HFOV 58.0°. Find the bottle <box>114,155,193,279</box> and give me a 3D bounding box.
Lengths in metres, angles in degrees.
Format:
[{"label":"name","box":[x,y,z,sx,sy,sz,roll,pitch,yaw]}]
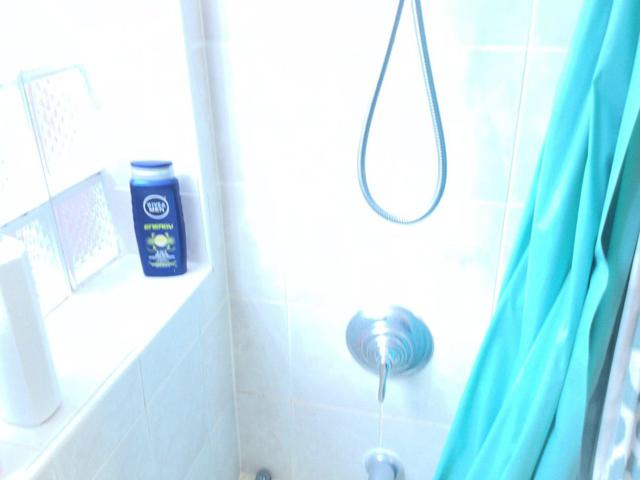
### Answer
[{"label":"bottle","box":[-0.290,-0.040,1.020,0.090,0.200,0.070,5,24,12]}]
